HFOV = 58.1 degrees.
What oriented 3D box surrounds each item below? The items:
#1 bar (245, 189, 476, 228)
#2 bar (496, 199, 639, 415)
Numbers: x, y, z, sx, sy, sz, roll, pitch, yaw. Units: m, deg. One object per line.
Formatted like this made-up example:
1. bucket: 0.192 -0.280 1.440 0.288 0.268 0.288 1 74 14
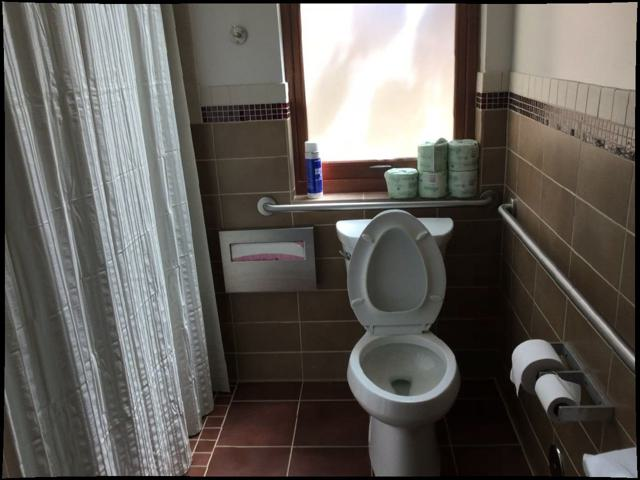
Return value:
1. bar: 0.160 -0.130 2.390 0.938 0.120 0.060 -1 20 6
2. bar: 0.658 0.080 1.600 0.080 0.040 1.240 -1 20 5
